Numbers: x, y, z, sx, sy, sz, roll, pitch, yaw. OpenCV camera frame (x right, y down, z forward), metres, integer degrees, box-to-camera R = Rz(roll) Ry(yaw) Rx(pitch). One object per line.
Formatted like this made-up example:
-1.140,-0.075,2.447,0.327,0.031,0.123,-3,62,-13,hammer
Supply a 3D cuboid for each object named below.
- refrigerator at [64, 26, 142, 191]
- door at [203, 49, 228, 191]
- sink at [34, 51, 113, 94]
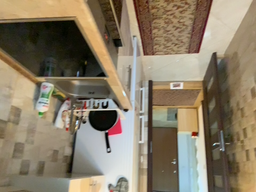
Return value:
-0.200,0.290,2.390,0.610,2.080,0.600,0,162,9,refrigerator
1.110,0.480,2.740,0.090,2.010,0.780,-2,161,15,door
-0.380,-0.160,1.590,0.460,0.180,0.350,0,162,8,sink
